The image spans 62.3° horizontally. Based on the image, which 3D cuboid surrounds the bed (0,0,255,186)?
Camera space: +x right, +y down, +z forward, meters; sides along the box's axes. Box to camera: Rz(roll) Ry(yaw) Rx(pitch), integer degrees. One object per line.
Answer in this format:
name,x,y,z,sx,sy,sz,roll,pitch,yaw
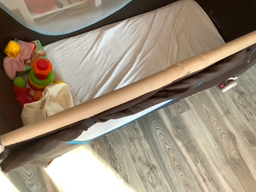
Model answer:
bed,0.030,-0.240,1.080,1.330,0.850,0.700,-26,75,-14
